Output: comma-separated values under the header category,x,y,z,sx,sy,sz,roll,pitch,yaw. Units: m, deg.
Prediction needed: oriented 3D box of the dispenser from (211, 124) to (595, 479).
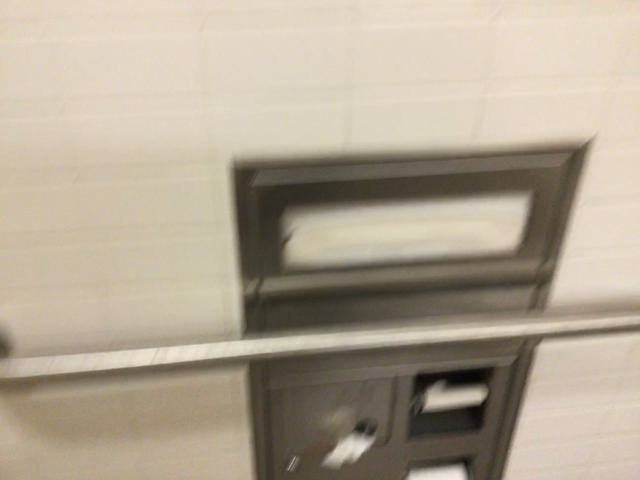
category,x,y,z,sx,sy,sz,roll,pitch,yaw
dispenser,0.120,0.220,0.870,0.430,0.740,0.100,-6,30,-1
